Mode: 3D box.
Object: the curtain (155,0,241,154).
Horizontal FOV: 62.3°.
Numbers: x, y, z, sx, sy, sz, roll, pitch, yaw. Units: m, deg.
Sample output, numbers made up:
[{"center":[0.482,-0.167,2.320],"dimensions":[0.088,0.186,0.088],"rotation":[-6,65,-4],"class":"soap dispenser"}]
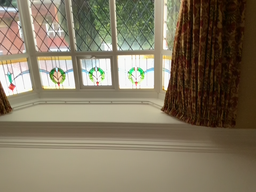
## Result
[{"center":[0.590,-0.890,1.900],"dimensions":[0.250,2.800,0.740],"rotation":[-15,-157,-32],"class":"curtain"}]
